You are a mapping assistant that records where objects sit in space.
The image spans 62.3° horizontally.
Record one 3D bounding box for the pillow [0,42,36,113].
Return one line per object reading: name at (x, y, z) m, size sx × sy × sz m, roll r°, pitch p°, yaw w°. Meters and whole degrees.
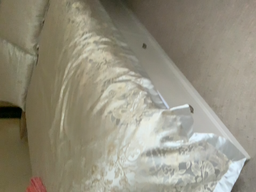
pillow at (-1.200, -0.170, 2.120) m, size 0.180 × 0.400 × 0.730 m, roll -79°, pitch 2°, yaw -46°
